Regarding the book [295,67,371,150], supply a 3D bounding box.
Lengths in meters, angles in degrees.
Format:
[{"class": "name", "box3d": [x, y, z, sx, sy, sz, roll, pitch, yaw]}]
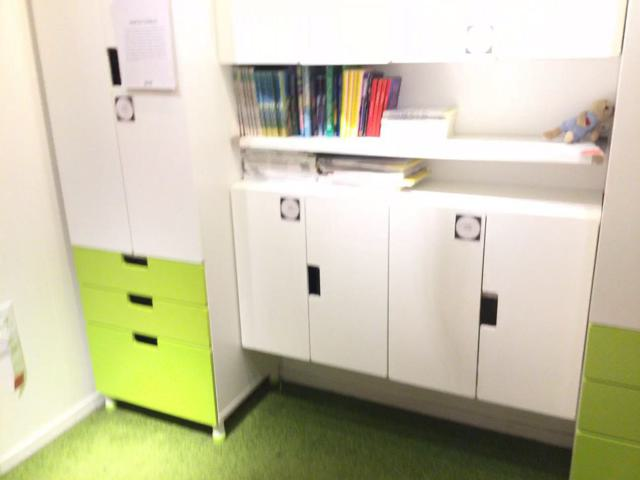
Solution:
[{"class": "book", "box3d": [0.050, -0.440, 1.910, 0.140, 0.240, 0.250, 8, 21, 29]}]

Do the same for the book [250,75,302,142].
[{"class": "book", "box3d": [-0.150, -0.460, 2.010, 0.110, 0.210, 0.140, 8, 21, 29]}]

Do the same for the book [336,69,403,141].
[{"class": "book", "box3d": [0.170, -0.460, 1.960, 0.180, 0.220, 0.140, 8, 21, 29]}]

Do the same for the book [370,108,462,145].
[{"class": "book", "box3d": [0.320, -0.380, 1.920, 0.250, 0.090, 0.180, 8, 21, 29]}]
